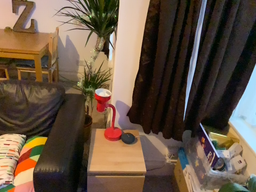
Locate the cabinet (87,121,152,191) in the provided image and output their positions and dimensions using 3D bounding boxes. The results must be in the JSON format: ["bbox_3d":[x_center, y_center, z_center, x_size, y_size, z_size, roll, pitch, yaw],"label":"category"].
[{"bbox_3d":[-0.080,0.540,1.570,0.380,0.480,0.500,5,28,-5],"label":"cabinet"}]
